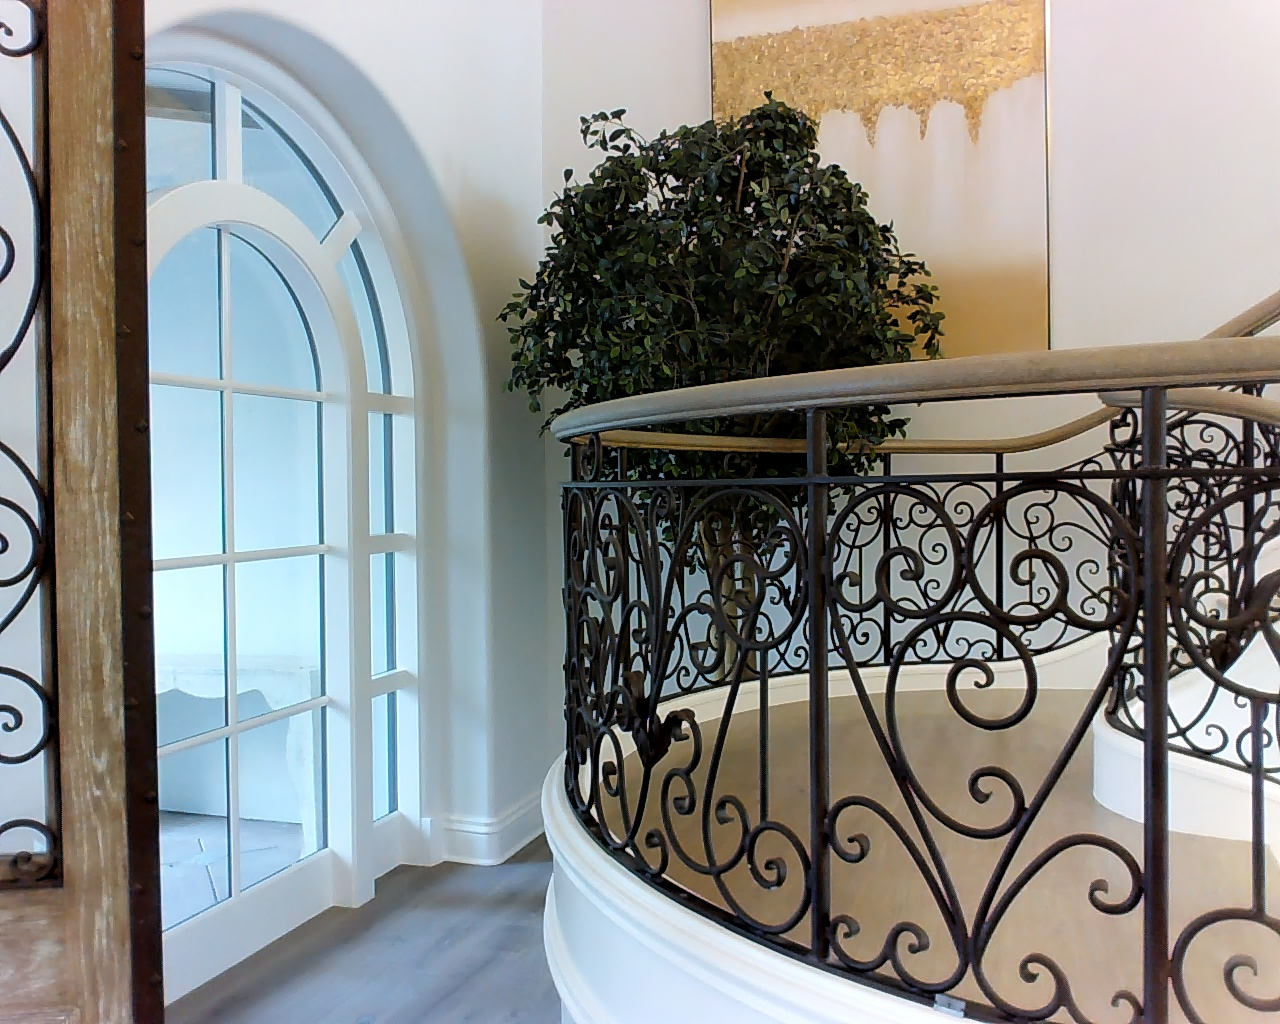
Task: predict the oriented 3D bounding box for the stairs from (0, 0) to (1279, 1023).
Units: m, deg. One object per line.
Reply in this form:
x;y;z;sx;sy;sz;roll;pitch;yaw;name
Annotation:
1.799;-0.210;2.370;4.249;3.511;3.660;0;1;21;stairs
